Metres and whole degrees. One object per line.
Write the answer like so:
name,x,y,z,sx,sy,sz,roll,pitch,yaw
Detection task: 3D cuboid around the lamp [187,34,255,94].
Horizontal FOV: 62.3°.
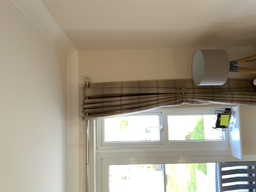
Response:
lamp,0.910,-0.290,1.870,0.400,0.620,0.370,-93,2,-52
